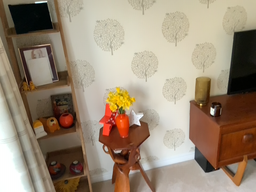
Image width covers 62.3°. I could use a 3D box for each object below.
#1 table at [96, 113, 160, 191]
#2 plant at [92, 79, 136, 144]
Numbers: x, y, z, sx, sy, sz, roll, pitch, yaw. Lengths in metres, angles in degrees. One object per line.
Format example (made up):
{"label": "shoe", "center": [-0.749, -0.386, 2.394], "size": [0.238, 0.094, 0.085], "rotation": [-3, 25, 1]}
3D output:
{"label": "table", "center": [0.000, 0.550, 1.730], "size": [0.390, 0.660, 0.390], "rotation": [-10, 25, -11]}
{"label": "plant", "center": [-0.110, 0.100, 1.550], "size": [0.230, 0.330, 0.320], "rotation": [-10, 25, -12]}
